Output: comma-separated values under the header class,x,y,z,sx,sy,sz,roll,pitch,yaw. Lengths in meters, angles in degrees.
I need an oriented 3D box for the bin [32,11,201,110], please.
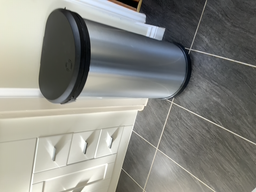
class,x,y,z,sx,sy,sz,roll,pitch,yaw
bin,-0.010,-0.140,0.990,0.290,0.720,0.290,27,109,43
